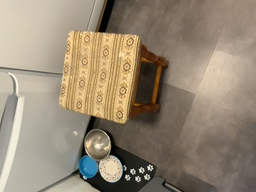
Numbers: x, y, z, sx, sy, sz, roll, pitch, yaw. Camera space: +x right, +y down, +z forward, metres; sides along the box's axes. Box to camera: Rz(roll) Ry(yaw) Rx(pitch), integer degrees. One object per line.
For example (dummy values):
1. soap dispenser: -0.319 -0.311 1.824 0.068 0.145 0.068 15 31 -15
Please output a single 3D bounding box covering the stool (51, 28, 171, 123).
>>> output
1. stool: -0.040 -0.090 0.970 0.330 0.460 0.300 11 96 24
